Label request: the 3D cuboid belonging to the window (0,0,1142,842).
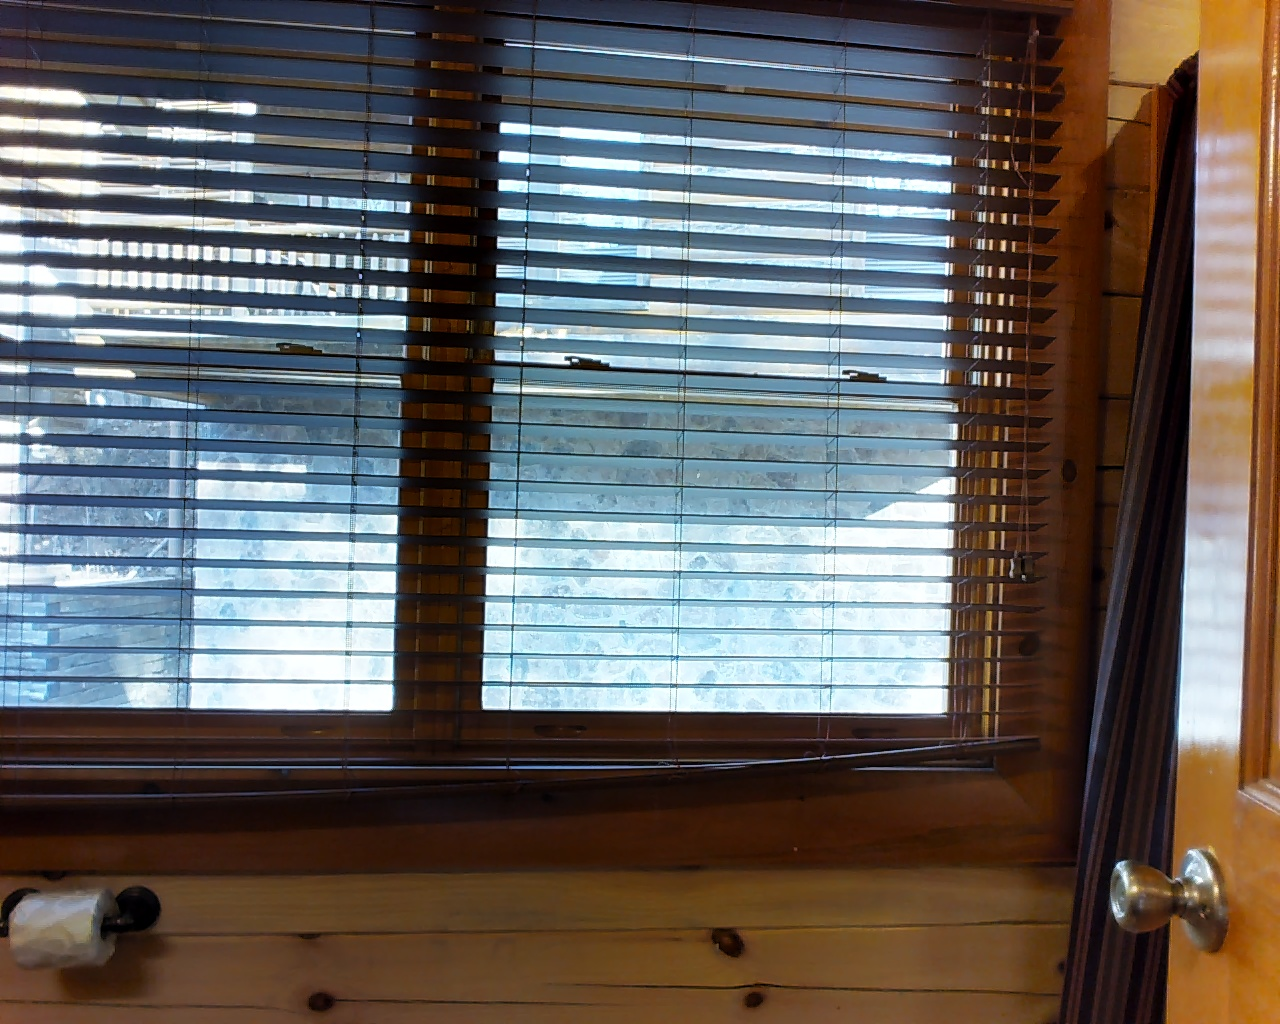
[{"bbox_3d":[-0.280,-0.260,1.750,2.249,1.561,0.070,1,1,-7],"label":"window"}]
